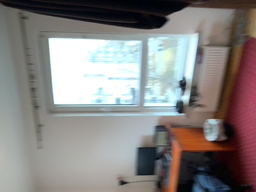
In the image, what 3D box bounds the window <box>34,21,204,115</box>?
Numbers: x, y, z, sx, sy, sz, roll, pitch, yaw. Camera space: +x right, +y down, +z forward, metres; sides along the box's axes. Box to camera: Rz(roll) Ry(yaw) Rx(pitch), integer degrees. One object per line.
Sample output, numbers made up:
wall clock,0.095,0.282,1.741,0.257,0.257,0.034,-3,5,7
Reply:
window,-0.110,-0.370,3.090,0.310,2.150,1.280,-102,13,-64
